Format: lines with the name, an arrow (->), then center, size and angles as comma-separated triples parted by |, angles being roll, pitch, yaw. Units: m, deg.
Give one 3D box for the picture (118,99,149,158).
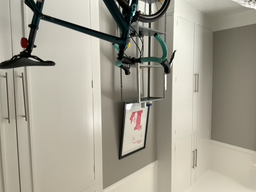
picture -> 0.080, 0.420, 2.870 | 0.080, 0.680, 0.530 | 12, -163, 40
